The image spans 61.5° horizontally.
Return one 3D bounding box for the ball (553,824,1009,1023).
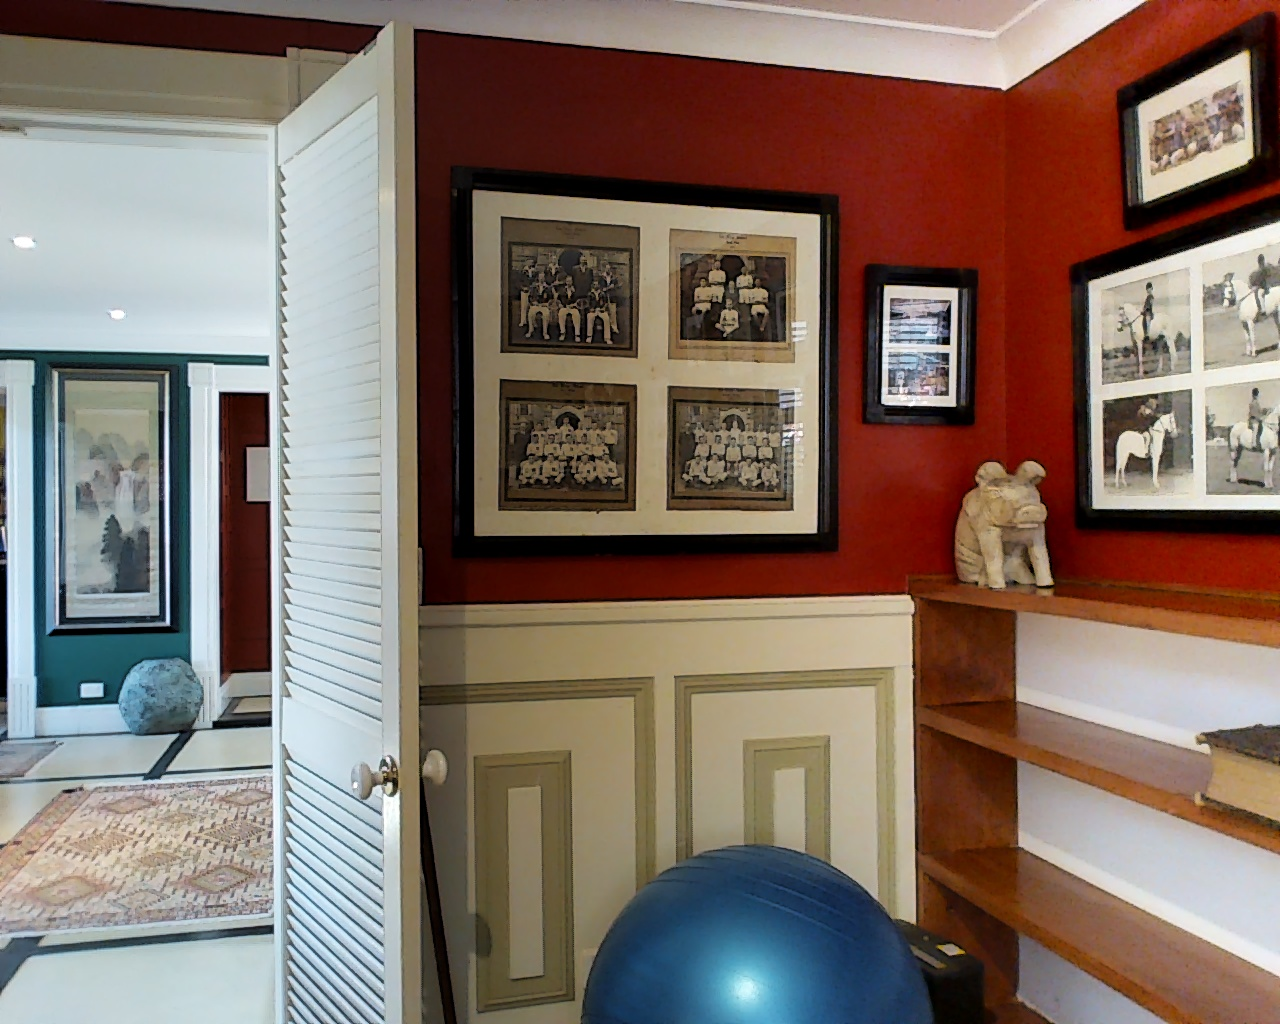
[{"bbox_3d":[0.220,0.950,1.880,0.670,0.630,0.450,-1,0,-14],"label":"ball"}]
